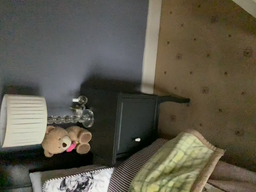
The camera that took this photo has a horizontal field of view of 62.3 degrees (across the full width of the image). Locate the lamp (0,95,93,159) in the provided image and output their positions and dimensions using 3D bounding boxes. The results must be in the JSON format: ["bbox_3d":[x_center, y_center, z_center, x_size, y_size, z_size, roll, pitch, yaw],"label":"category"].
[{"bbox_3d":[-0.450,0.140,1.170,0.230,0.440,0.270,6,93,48],"label":"lamp"}]

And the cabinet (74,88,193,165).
[{"bbox_3d":[0.060,0.160,1.500,0.420,0.730,0.380,8,95,48],"label":"cabinet"}]
